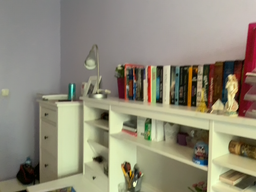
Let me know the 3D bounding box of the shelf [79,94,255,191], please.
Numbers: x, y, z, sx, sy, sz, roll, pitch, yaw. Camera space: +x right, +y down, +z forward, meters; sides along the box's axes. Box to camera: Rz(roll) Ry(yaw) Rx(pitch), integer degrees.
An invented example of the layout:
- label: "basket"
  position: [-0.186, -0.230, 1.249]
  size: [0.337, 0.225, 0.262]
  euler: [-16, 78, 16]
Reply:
- label: "shelf"
  position: [0.190, 0.330, 1.200]
  size: [0.300, 0.610, 1.470]
  euler: [-1, 4, -38]

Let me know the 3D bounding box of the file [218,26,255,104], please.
- label: "file"
  position: [0.490, -0.110, 0.850]
  size: [0.250, 0.270, 0.110]
  euler: [-1, 4, -36]
